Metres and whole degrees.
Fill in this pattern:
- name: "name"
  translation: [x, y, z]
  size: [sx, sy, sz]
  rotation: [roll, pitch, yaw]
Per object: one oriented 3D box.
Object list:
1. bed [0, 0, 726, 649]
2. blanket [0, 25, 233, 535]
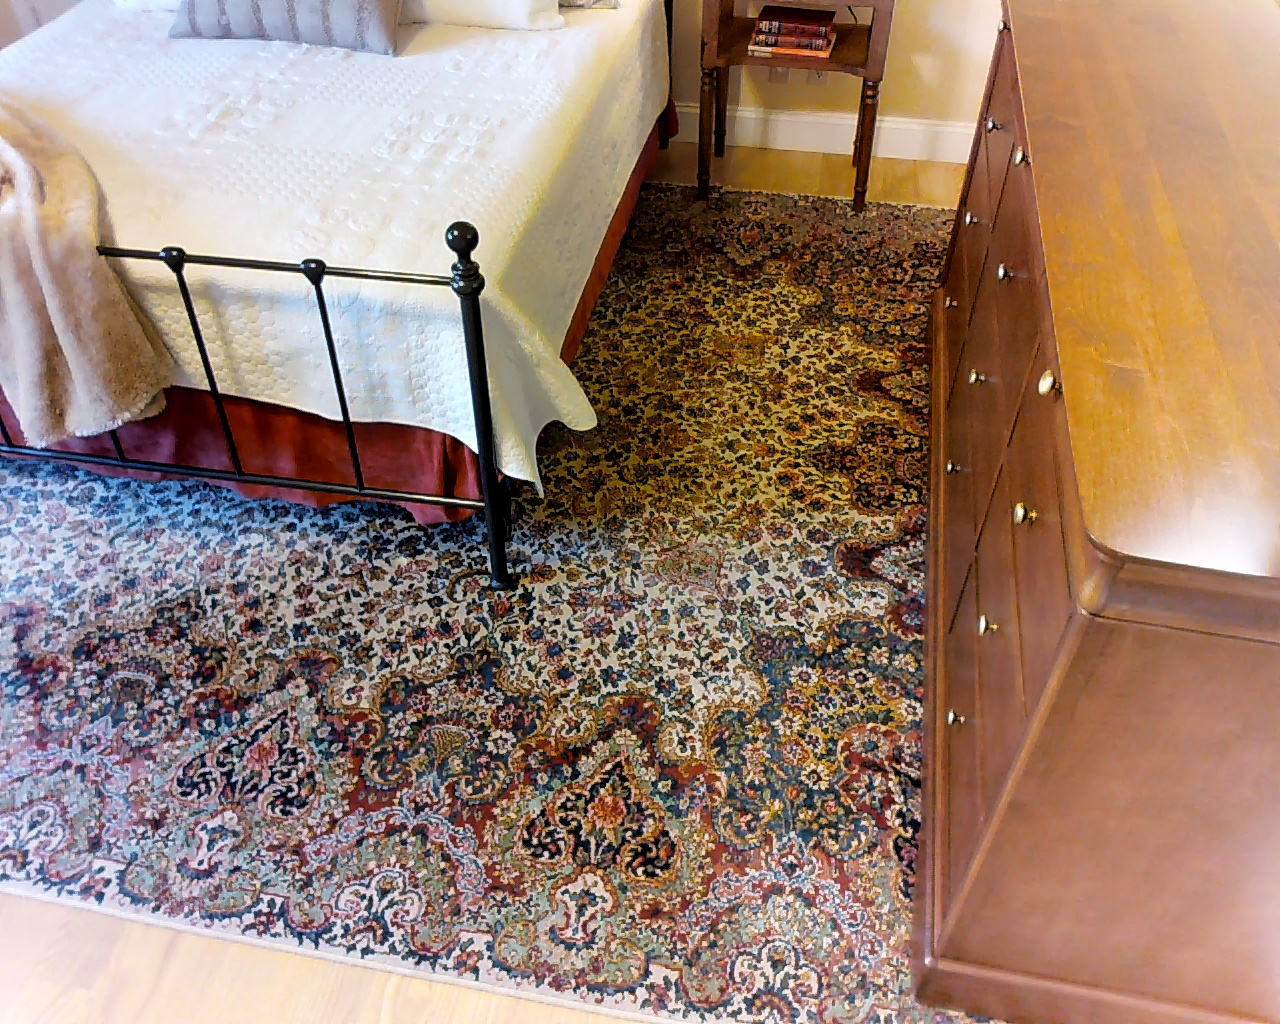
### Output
- name: "bed"
  translation: [-0.840, -0.890, 2.830]
  size: [1.860, 0.720, 2.350]
  rotation: [7, 43, 7]
- name: "blanket"
  translation: [-1.350, -0.550, 2.170]
  size: [0.500, 0.410, 1.360]
  rotation: [-25, 48, -25]
